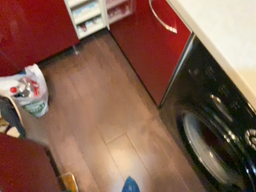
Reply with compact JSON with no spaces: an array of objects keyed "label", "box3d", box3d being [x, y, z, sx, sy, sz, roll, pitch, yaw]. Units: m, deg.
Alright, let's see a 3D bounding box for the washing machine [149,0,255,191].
[{"label":"washing machine","box3d":[0.550,0.090,0.920,0.580,0.920,0.620,-28,74,-10]}]
